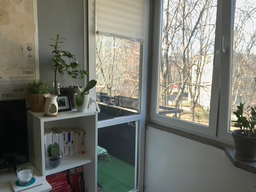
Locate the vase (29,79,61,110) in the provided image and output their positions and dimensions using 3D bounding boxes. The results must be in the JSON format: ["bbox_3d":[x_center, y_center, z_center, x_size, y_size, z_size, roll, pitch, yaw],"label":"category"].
[{"bbox_3d":[-0.590,-0.020,1.510,0.160,0.190,0.190,-4,10,-38],"label":"vase"}]

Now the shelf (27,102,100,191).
[{"bbox_3d":[-0.490,0.680,1.640,0.420,1.200,0.330,-5,10,-40],"label":"shelf"}]

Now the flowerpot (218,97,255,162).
[{"bbox_3d":[0.820,0.220,1.500,0.170,0.380,0.250,-4,10,-36],"label":"flowerpot"}]
